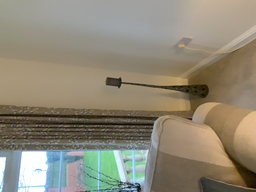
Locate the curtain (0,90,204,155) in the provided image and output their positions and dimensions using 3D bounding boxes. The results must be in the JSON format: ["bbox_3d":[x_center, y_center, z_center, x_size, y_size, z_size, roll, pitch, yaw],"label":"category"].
[{"bbox_3d":[-0.360,0.240,1.790,0.120,2.250,0.470,137,134,-63],"label":"curtain"}]
